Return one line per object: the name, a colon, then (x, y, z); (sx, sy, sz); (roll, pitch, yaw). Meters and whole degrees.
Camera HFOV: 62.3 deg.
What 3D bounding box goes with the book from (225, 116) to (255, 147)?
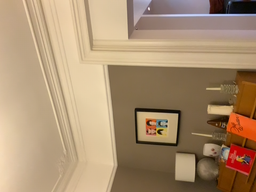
book: (1.140, 0.350, 2.100); (0.110, 0.260, 0.280); (-71, -19, -58)
